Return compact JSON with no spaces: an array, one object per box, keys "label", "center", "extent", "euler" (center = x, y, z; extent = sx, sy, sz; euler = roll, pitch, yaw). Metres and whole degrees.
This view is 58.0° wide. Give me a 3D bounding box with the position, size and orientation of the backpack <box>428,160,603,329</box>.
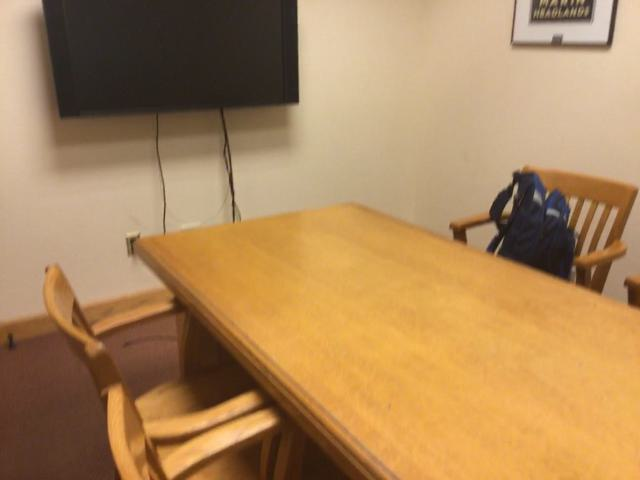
[{"label":"backpack","center":[0.700,-0.010,2.130],"extent":[0.420,0.460,0.390],"euler":[-13,23,-30]}]
